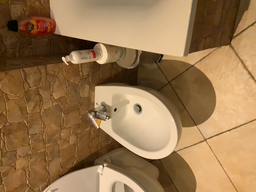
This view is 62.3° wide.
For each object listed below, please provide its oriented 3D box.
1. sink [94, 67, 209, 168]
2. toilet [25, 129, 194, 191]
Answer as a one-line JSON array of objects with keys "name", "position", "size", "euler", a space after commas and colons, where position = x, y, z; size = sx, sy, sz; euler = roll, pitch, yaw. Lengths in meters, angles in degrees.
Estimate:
[{"name": "sink", "position": [0.110, 0.070, 1.190], "size": [0.510, 0.340, 0.330], "euler": [19, 116, 34]}, {"name": "toilet", "position": [-0.050, 0.600, 1.240], "size": [0.510, 0.820, 0.380], "euler": [19, 116, 34]}]
